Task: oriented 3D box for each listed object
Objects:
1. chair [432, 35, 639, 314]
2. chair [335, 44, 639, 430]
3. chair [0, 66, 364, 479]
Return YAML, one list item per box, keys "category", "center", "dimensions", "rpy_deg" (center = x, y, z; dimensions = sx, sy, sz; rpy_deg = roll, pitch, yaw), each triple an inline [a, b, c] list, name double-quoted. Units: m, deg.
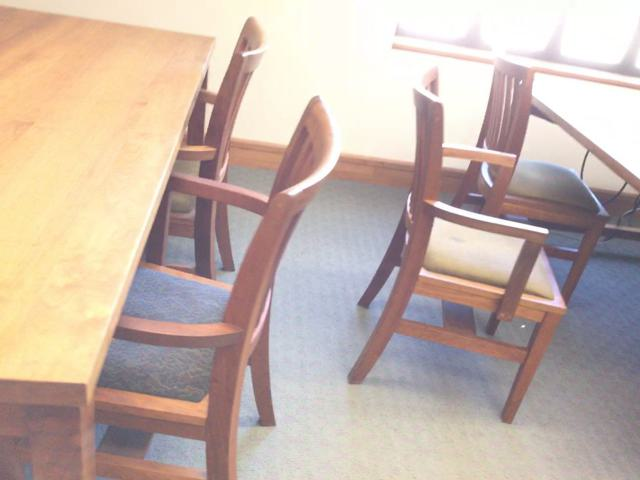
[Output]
- category: "chair"
  center: [0.850, -0.270, 2.310]
  dimensions: [0.530, 0.950, 0.550]
  rpy_deg: [3, 25, -5]
- category: "chair"
  center: [0.430, -0.040, 1.780]
  dimensions: [0.630, 0.950, 0.700]
  rpy_deg: [3, 25, -5]
- category: "chair"
  center: [-0.340, 0.190, 1.200]
  dimensions: [0.690, 0.930, 0.590]
  rpy_deg: [3, 25, -5]
